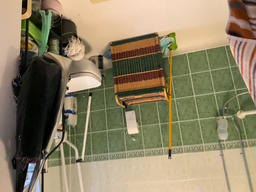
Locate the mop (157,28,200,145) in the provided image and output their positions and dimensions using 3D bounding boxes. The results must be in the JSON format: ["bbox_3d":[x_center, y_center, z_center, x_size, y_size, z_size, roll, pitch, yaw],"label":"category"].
[{"bbox_3d":[0.490,-0.080,2.150,0.230,1.110,0.350,-8,166,10],"label":"mop"}]

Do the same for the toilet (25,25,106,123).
[{"bbox_3d":[-0.590,-0.180,2.050,0.620,0.770,0.370,-9,166,13],"label":"toilet"}]

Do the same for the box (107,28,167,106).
[{"bbox_3d":[0.110,-0.270,2.210,0.510,0.620,0.460,-8,166,9],"label":"box"}]
